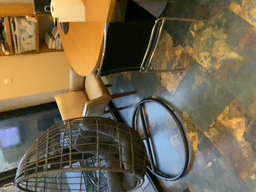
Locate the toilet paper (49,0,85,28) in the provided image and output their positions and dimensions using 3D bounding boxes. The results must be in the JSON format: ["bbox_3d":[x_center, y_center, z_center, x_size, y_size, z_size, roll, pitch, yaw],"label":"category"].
[{"bbox_3d":[-0.490,-0.670,1.700,0.240,0.210,0.170,43,135,44],"label":"toilet paper"}]

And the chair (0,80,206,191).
[{"bbox_3d":[-0.270,0.610,2.060,0.960,1.460,0.910,59,144,28],"label":"chair"}]

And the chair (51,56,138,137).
[{"bbox_3d":[-0.470,-0.020,2.760,0.650,0.830,0.660,57,144,30],"label":"chair"}]

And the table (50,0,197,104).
[{"bbox_3d":[-0.120,-0.980,1.920,1.190,0.760,1.720,59,144,28],"label":"table"}]

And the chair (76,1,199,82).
[{"bbox_3d":[0.060,-0.480,1.750,0.500,0.810,0.410,48,138,40],"label":"chair"}]
